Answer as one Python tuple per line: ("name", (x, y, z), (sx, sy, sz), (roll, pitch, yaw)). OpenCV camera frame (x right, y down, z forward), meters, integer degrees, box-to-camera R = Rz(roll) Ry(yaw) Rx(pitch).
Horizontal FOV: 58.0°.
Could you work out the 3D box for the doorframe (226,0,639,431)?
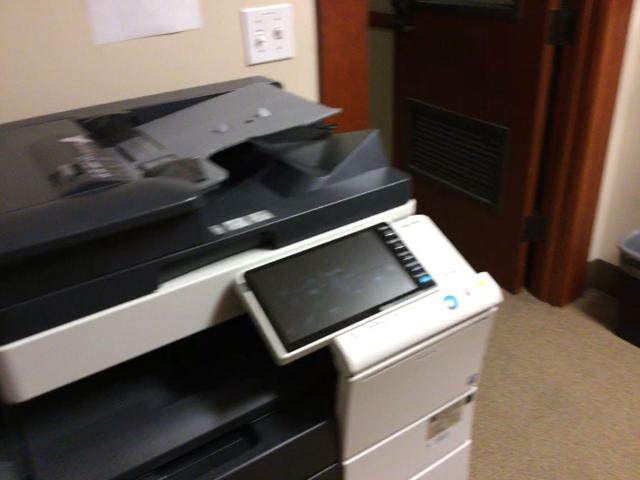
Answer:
("doorframe", (0.430, -0.490, 1.780), (1.280, 1.840, 0.430), (-19, 31, -25))
